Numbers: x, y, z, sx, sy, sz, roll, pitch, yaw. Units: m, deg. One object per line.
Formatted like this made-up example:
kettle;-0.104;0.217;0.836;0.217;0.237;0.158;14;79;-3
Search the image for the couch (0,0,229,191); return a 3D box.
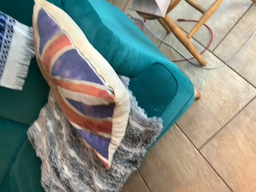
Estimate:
couch;-0.600;0.360;1.370;1.040;0.860;1.990;51;118;33
